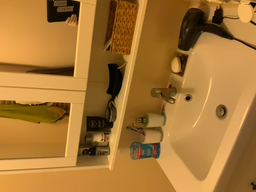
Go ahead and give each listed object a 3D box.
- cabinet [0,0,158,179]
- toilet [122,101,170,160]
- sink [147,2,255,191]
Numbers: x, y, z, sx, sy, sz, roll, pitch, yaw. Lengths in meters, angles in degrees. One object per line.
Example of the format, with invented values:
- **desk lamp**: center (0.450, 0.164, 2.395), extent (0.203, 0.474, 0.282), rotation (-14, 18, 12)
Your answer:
- **cabinet**: center (-0.470, -0.070, 0.800), extent (0.170, 1.030, 0.830), rotation (-128, 46, -60)
- **toilet**: center (0.090, 0.190, 1.160), extent (0.110, 0.160, 0.300), rotation (-123, 42, -57)
- **sink**: center (0.340, 0.050, 0.950), extent (0.490, 0.140, 0.840), rotation (-128, 46, -60)
